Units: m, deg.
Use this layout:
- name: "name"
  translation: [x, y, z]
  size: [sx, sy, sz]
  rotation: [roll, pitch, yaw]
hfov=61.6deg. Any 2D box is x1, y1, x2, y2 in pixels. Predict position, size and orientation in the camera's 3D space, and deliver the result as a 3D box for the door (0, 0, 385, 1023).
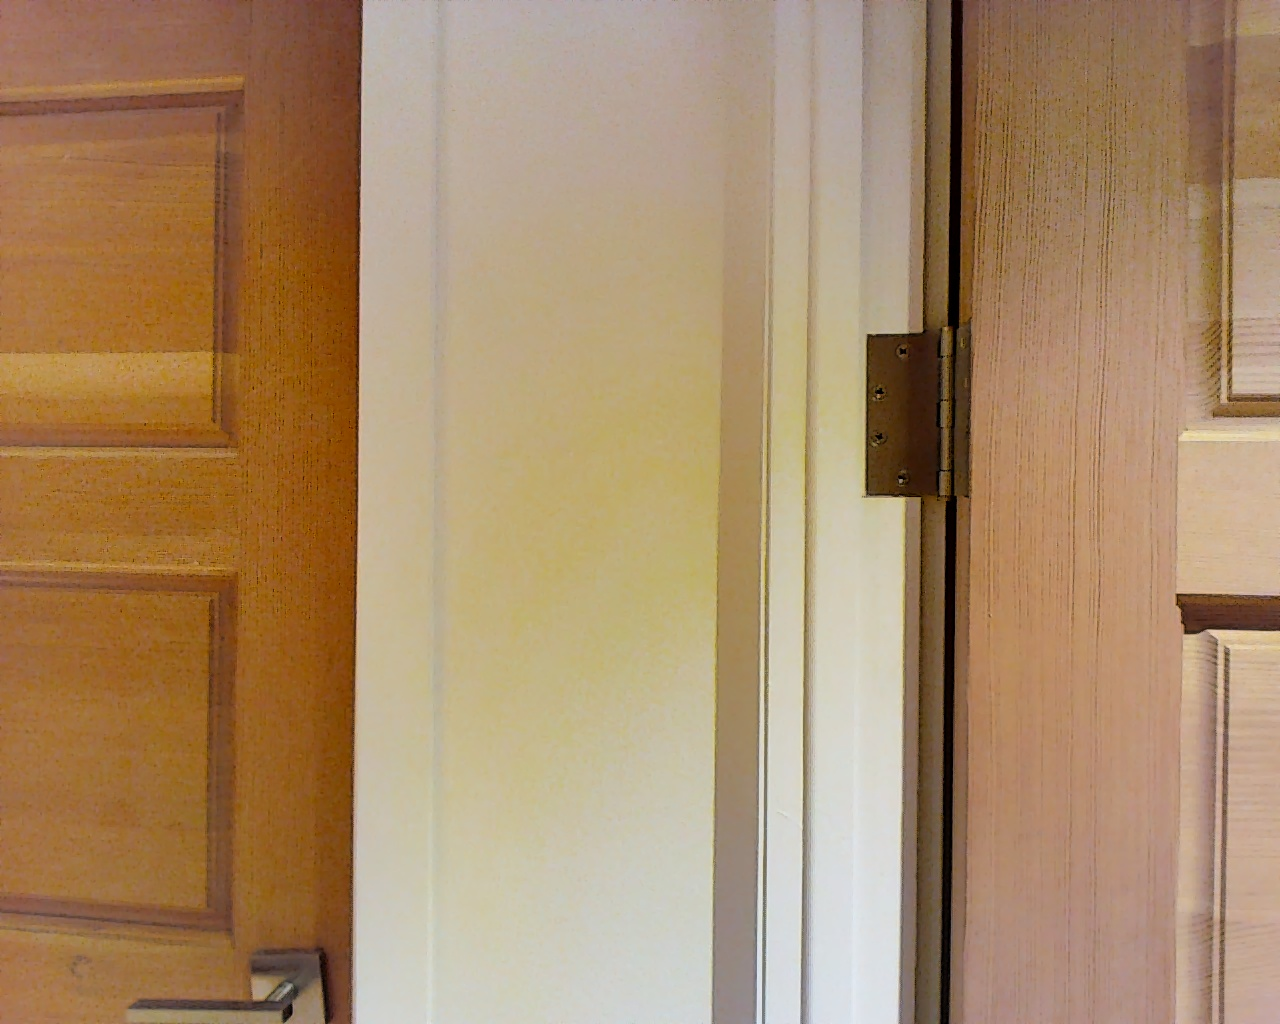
- name: "door"
  translation: [-0.640, 0.250, 1.000]
  size: [0.810, 2.440, 0.040]
  rotation: [1, 0, 8]
